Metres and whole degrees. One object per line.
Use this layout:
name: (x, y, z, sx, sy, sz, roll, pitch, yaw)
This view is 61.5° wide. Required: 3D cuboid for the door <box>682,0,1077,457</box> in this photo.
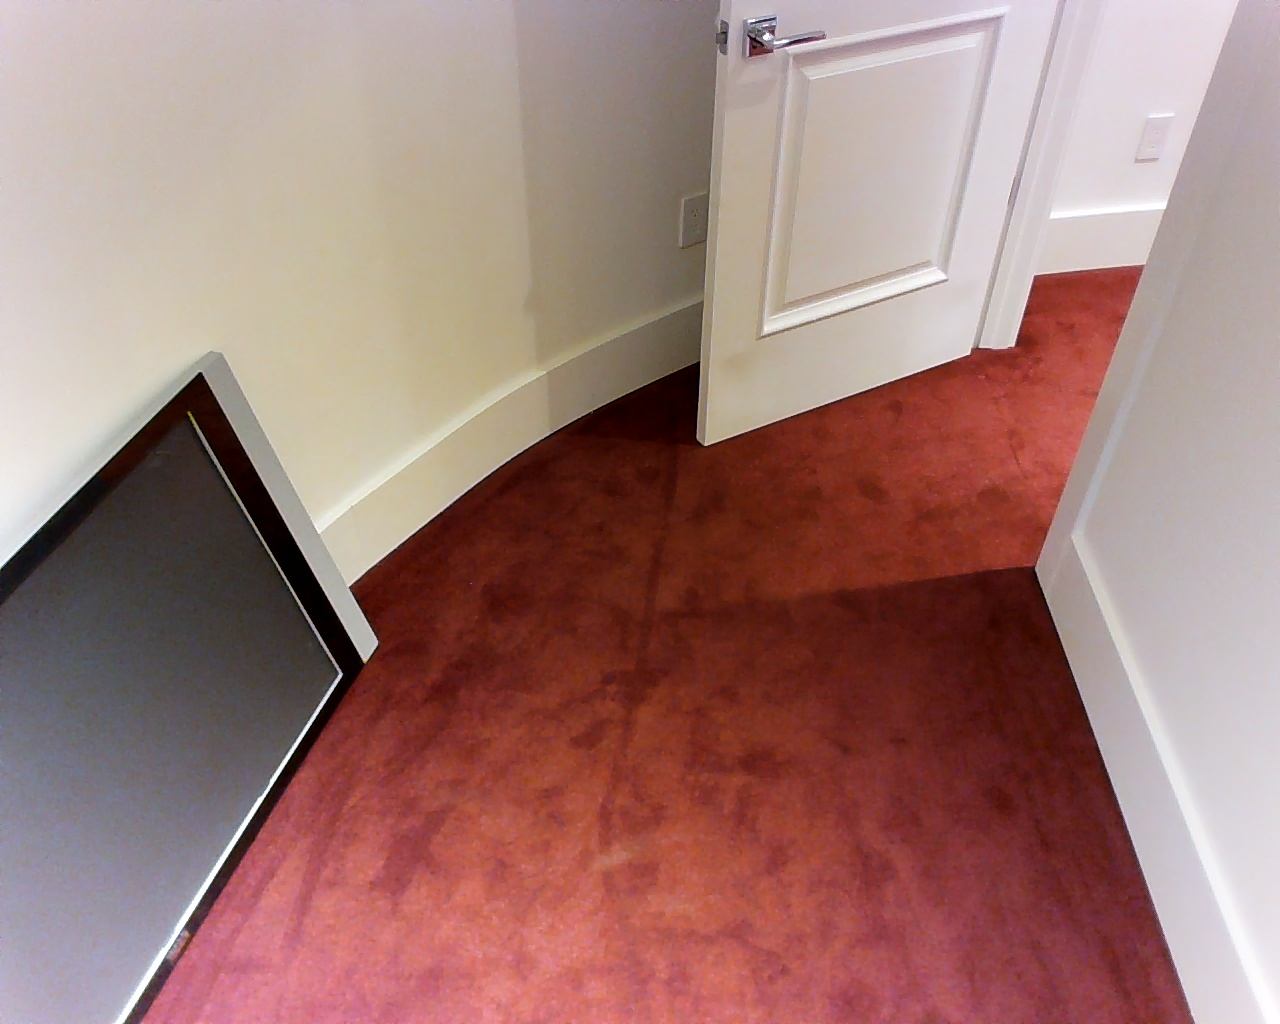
door: (0.500, -1.090, 1.920, 0.850, 2.180, 0.080, -20, 46, -21)
